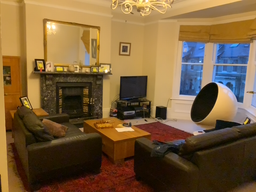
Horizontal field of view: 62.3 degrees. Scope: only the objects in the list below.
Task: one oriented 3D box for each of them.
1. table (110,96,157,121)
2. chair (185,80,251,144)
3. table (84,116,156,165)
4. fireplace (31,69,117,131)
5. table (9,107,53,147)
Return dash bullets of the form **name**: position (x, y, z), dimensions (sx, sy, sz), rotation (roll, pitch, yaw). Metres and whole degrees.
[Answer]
- **table**: position (0.150, 0.330, 6.150), dimensions (1.210, 0.530, 0.570), rotation (-2, 10, -30)
- **chair**: position (1.890, 0.290, 4.690), dimensions (0.900, 1.170, 1.040), rotation (2, 8, -1)
- **table**: position (-0.220, 0.740, 3.950), dimensions (0.740, 0.380, 1.340), rotation (-3, 10, -33)
- **fireplace**: position (-1.300, 0.040, 5.170), dimensions (1.860, 1.280, 0.710), rotation (-2, 10, -30)
- **table**: position (-1.890, 0.560, 4.110), dimensions (0.660, 0.550, 0.610), rotation (-4, 11, -35)
